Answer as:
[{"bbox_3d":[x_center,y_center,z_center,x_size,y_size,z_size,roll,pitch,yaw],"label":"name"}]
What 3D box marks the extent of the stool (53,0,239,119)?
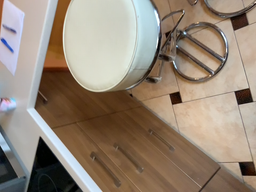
[{"bbox_3d":[0.160,-0.210,0.980,0.340,0.850,0.340,37,118,30],"label":"stool"}]
